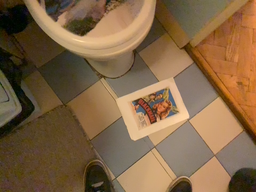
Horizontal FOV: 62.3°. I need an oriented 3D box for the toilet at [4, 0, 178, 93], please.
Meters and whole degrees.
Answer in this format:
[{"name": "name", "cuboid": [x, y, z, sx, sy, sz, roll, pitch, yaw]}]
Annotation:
[{"name": "toilet", "cuboid": [-0.220, -0.420, 0.770, 0.420, 0.420, 0.660, -38, 88, -7]}]
